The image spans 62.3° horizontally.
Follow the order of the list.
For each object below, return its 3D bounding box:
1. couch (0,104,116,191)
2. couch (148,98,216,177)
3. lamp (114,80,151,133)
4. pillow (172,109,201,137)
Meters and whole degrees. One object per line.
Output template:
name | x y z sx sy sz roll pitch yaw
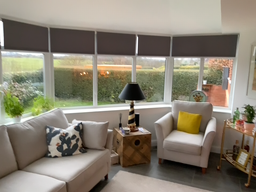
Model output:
couch | -1.080 0.760 2.250 1.110 0.900 2.030 6 10 22
couch | 0.950 0.600 3.580 0.880 0.920 0.990 6 10 24
lamp | 0.060 0.150 3.530 0.440 0.790 0.450 -2 10 -21
pillow | 1.020 0.460 3.690 0.410 0.360 0.240 7 11 26
